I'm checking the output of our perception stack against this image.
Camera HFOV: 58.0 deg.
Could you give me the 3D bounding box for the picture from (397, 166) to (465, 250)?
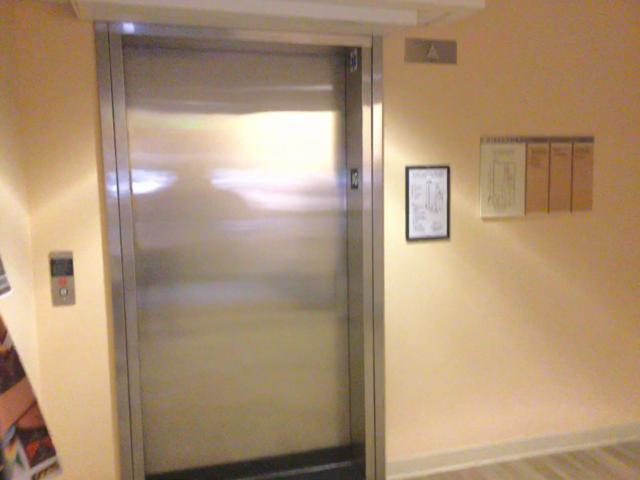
[{"bbox_3d":[0.520,-0.150,2.710,0.250,0.360,0.090,-6,-6,-15],"label":"picture"}]
